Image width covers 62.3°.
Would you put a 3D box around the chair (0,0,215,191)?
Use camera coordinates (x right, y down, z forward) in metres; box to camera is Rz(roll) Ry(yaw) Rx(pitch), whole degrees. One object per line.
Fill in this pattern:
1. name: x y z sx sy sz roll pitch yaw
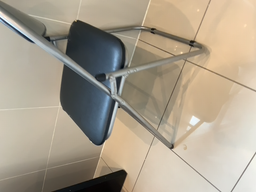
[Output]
1. chair: -0.140 -0.060 0.790 0.410 0.750 0.490 38 118 41
